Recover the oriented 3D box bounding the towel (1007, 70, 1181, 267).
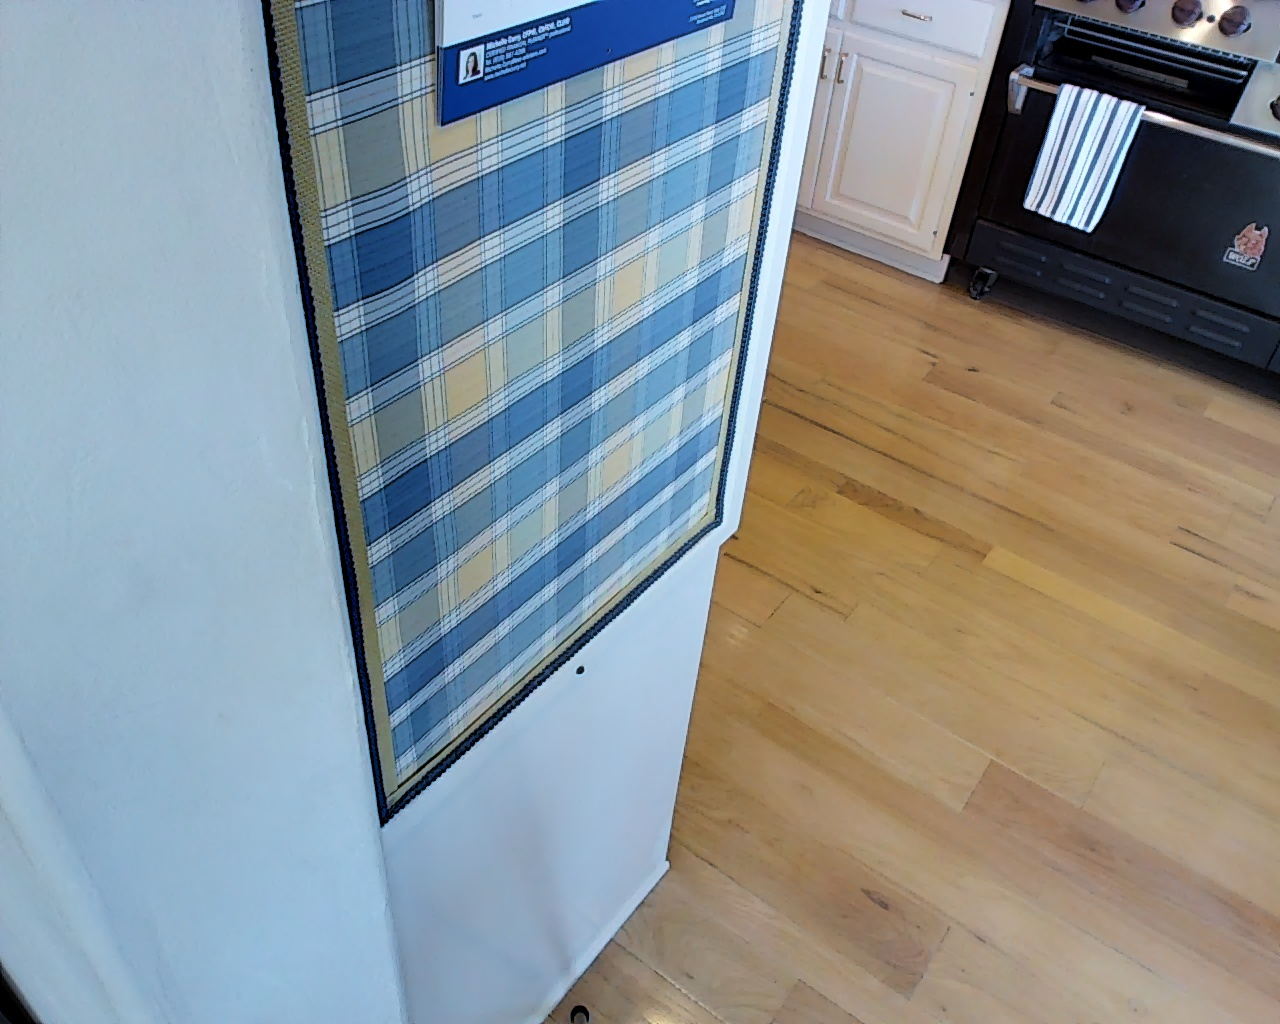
[{"bbox_3d":[1.170,-0.890,2.800,0.280,0.410,0.120,29,46,25],"label":"towel"}]
